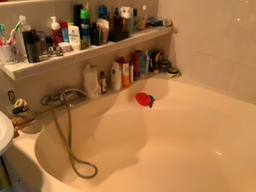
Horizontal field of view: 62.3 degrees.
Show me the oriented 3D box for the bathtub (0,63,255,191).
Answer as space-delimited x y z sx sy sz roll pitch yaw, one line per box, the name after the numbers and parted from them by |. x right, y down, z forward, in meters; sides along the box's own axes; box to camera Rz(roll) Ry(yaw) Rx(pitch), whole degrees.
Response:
0.250 0.460 1.340 1.360 0.610 1.440 29 40 36 | bathtub
